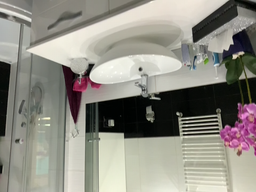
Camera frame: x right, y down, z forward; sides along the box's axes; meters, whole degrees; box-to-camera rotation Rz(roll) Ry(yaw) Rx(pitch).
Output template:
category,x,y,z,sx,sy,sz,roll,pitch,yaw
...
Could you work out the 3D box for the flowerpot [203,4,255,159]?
category,x,y,z,sx,sy,sz,roll,pitch,yaw
flowerpot,0.540,-0.050,1.050,0.210,0.670,0.270,-8,167,29
